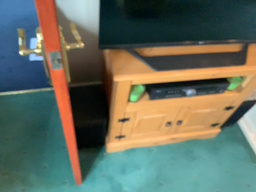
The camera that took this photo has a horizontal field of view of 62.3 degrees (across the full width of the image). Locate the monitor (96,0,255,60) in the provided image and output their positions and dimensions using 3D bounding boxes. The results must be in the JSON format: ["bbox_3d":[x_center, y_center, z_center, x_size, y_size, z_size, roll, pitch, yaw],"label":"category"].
[{"bbox_3d":[0.350,-0.380,0.810,0.930,0.560,0.060,-4,54,-12],"label":"monitor"}]
